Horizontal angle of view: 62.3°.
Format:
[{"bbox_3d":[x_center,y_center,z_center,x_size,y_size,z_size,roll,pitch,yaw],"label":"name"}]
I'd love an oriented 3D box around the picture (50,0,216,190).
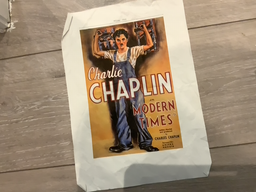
[{"bbox_3d":[0.000,-0.020,0.340,0.220,0.020,0.300,-8,84,3],"label":"picture"}]
